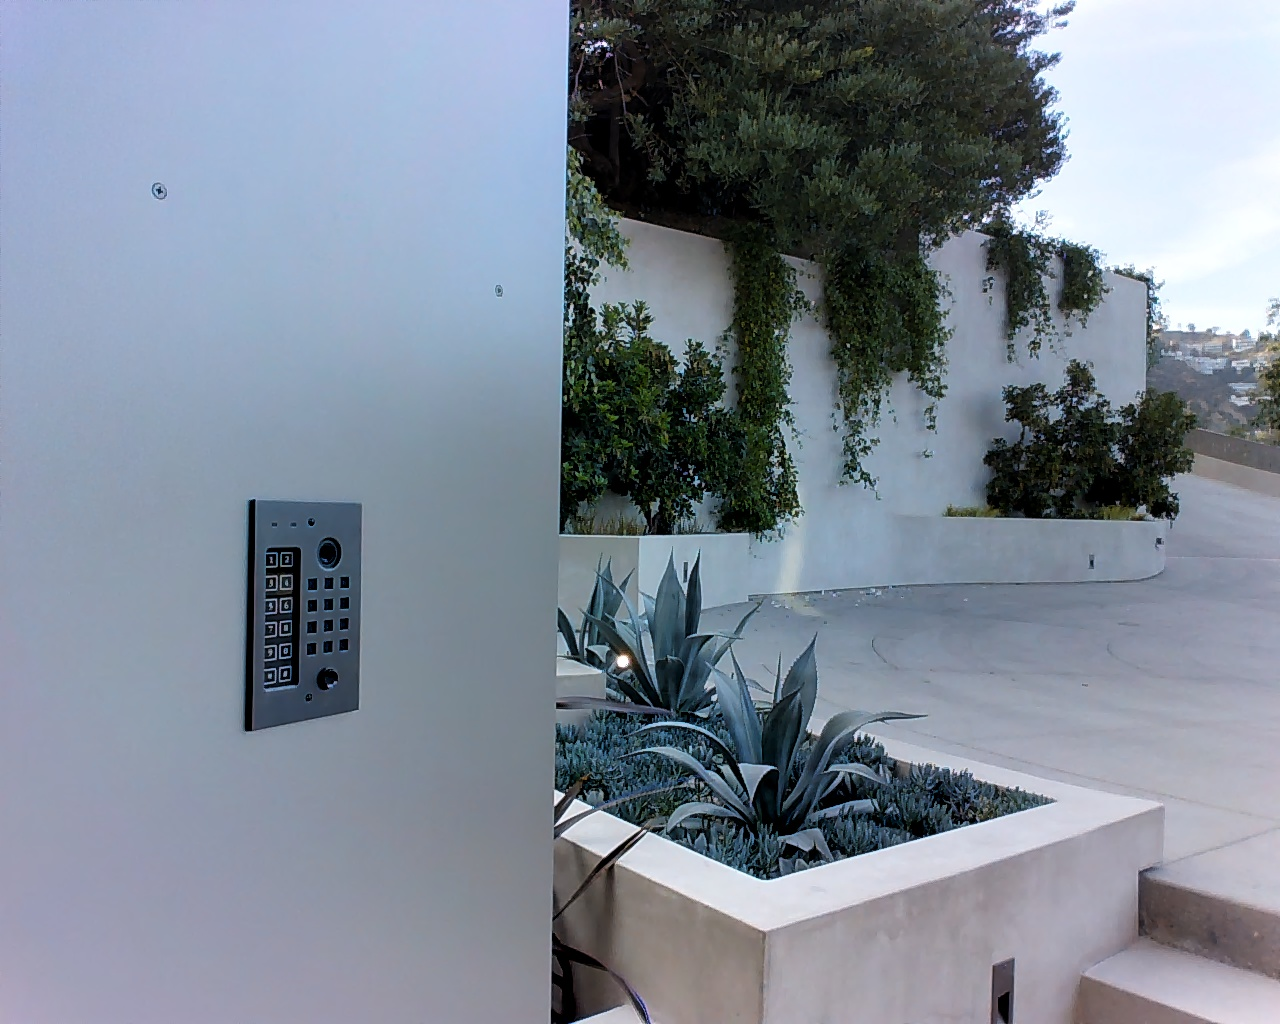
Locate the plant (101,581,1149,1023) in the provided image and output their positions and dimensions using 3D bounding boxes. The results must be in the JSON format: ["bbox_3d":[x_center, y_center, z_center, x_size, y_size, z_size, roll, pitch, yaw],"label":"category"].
[{"bbox_3d":[-0.200,0.560,3.310,2.180,0.500,2.460,1,0,-37],"label":"plant"}]
